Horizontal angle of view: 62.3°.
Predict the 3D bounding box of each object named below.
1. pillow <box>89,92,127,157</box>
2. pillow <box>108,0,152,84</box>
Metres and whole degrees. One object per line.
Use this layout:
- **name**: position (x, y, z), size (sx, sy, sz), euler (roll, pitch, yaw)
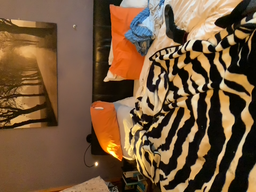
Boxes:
- **pillow**: position (-0.250, 0.310, 2.480), size (0.390, 0.330, 0.620), euler (-143, 53, -65)
- **pillow**: position (0.000, -0.510, 2.080), size (0.260, 0.320, 0.730), euler (-143, 53, -65)
